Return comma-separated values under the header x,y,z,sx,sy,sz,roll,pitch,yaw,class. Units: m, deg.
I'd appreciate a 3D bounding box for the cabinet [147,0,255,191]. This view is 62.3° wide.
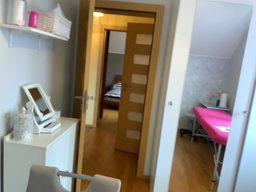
x,y,z,sx,sy,sz,roll,pitch,yaw,class
1.110,0.130,2.210,1.530,2.190,0.650,7,10,3,cabinet
